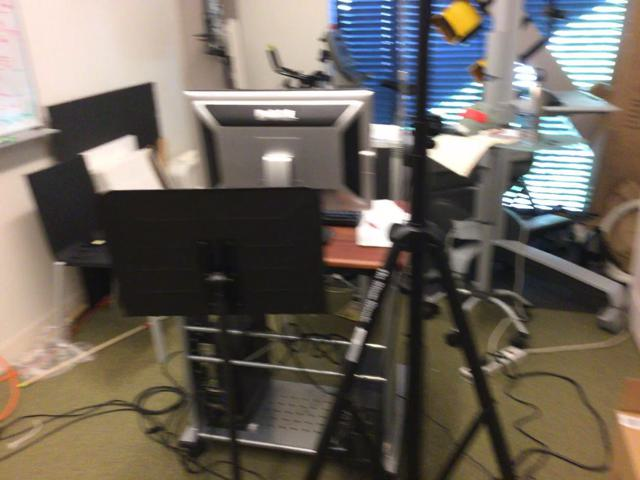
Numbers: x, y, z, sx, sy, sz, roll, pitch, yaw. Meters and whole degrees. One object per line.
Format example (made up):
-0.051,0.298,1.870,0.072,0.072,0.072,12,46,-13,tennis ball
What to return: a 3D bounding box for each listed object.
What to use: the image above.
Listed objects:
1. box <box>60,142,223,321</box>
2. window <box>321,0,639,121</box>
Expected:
-0.870,-0.080,2.970,0.460,0.740,0.630,4,19,14,box
1.030,-1.500,3.510,2.060,1.490,0.230,4,19,14,window
